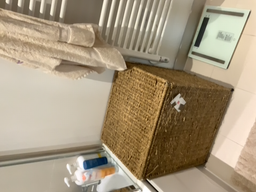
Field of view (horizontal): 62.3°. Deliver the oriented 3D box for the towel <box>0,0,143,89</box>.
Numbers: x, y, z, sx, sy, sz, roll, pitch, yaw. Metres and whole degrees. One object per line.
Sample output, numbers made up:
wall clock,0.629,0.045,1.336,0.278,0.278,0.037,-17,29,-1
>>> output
towel,-0.390,-0.200,0.800,0.190,0.950,0.250,34,114,47
